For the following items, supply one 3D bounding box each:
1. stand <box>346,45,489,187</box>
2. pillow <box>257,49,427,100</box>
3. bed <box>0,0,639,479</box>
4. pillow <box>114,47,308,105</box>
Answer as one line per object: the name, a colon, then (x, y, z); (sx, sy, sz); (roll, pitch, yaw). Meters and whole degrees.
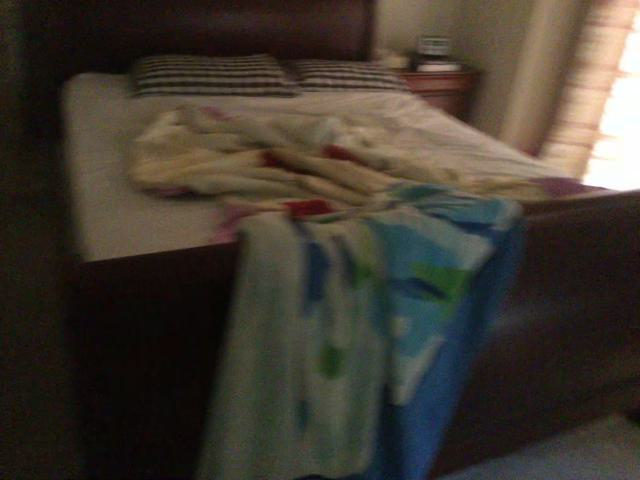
stand: (0.530, -0.720, 3.290); (0.620, 0.670, 0.400); (-9, 28, -21)
pillow: (0.090, -0.790, 2.710); (0.650, 0.120, 0.480); (-9, 28, -21)
bed: (-0.090, -0.280, 2.010); (1.660, 1.180, 2.360); (-9, 28, -21)
pillow: (-0.470, -0.710, 2.450); (0.710, 0.120, 0.480); (-9, 28, -21)
